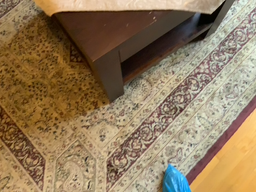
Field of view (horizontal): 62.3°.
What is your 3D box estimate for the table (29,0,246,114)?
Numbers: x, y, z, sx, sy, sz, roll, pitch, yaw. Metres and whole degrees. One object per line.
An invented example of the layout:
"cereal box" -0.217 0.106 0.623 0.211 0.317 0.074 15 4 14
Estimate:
"table" -0.010 -0.460 0.920 0.730 0.500 0.700 -35 76 -8
